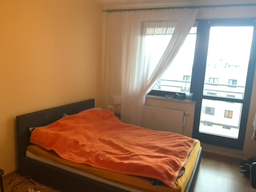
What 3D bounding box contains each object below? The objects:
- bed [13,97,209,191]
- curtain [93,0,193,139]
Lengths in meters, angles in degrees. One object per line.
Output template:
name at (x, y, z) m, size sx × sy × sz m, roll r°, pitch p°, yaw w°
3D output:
bed at (-0.110, 0.650, 3.050) m, size 2.180 × 0.780 × 1.730 m, roll 8°, pitch 11°, yaw 24°
curtain at (0.170, -0.510, 3.980) m, size 1.760 × 2.340 × 0.180 m, roll 8°, pitch 11°, yaw 23°
